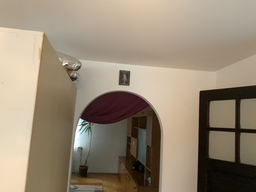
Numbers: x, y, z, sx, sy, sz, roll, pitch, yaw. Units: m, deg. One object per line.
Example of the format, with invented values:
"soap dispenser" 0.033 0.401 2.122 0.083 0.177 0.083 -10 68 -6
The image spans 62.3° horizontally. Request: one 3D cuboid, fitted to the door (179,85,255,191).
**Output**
"door" 0.840 0.890 1.760 0.820 1.950 0.150 -2 -8 39
